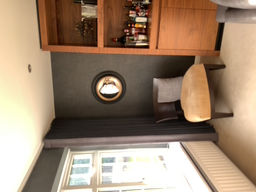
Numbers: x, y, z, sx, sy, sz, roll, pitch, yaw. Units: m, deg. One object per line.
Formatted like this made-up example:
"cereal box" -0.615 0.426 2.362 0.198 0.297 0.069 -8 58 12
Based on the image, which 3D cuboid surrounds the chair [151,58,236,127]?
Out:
"chair" 0.820 0.000 2.900 0.750 0.800 0.750 117 153 -72
